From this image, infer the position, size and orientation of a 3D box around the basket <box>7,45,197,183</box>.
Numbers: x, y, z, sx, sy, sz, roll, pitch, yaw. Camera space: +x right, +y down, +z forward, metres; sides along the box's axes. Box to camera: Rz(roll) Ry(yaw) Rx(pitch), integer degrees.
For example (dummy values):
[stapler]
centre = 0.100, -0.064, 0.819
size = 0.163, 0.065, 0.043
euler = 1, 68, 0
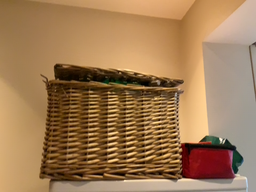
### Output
[basket]
centre = -0.100, 0.110, 0.820
size = 0.440, 0.320, 0.610
euler = 3, -13, -11
